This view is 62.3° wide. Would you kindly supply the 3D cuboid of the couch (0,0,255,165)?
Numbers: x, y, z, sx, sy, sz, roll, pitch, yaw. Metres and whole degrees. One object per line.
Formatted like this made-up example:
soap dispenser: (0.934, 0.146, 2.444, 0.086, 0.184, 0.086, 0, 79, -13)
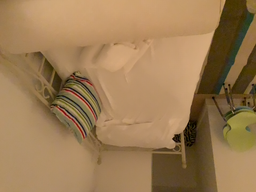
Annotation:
couch: (0.010, -0.100, 1.750, 1.070, 0.820, 2.290, -1, 151, 9)
